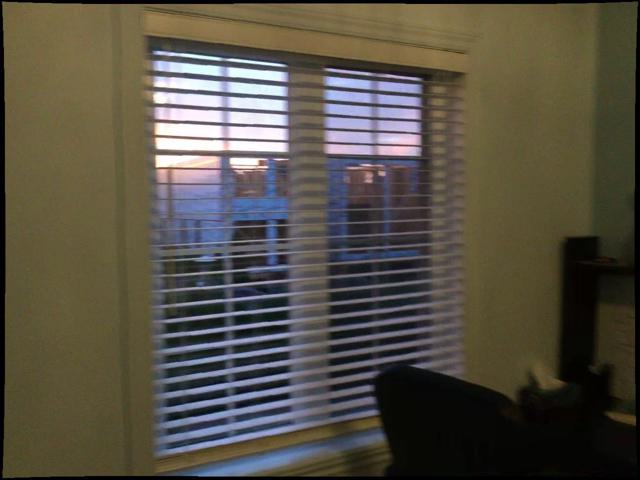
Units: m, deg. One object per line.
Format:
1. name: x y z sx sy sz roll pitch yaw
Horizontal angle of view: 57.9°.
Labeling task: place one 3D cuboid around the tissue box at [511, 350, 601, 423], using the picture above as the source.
1. tissue box: 0.899 0.551 2.200 0.300 0.180 0.160 -4 6 -28

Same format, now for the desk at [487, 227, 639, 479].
1. desk: 1.139 0.681 1.820 0.570 1.351 1.090 -4 6 -28
